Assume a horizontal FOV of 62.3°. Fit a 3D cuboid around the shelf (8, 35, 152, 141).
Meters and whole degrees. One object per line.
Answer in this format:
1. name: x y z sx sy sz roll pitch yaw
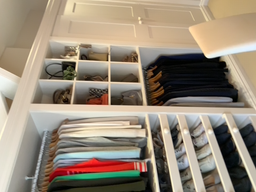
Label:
1. shelf: -0.460 -0.080 2.390 0.700 1.220 0.900 101 169 -48
